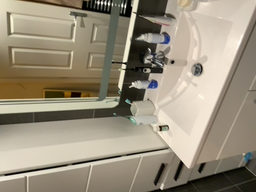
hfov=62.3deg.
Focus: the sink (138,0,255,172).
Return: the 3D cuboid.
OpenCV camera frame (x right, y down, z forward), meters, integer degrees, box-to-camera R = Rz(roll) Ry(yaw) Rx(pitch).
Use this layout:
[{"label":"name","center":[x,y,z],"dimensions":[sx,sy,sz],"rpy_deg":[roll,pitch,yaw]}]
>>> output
[{"label":"sink","center":[0.280,-0.110,0.980],"dimensions":[0.450,0.120,0.770],"rpy_deg":[48,133,52]}]
